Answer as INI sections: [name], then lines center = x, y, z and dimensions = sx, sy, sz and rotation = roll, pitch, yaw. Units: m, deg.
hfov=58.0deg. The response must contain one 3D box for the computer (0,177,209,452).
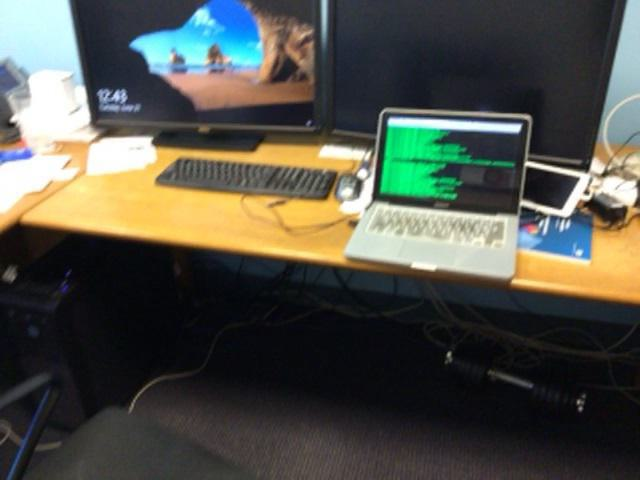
[computer]
center = -0.630, 0.190, 1.790
dimensions = 0.250, 0.540, 0.650
rotation = 7, 30, 14
